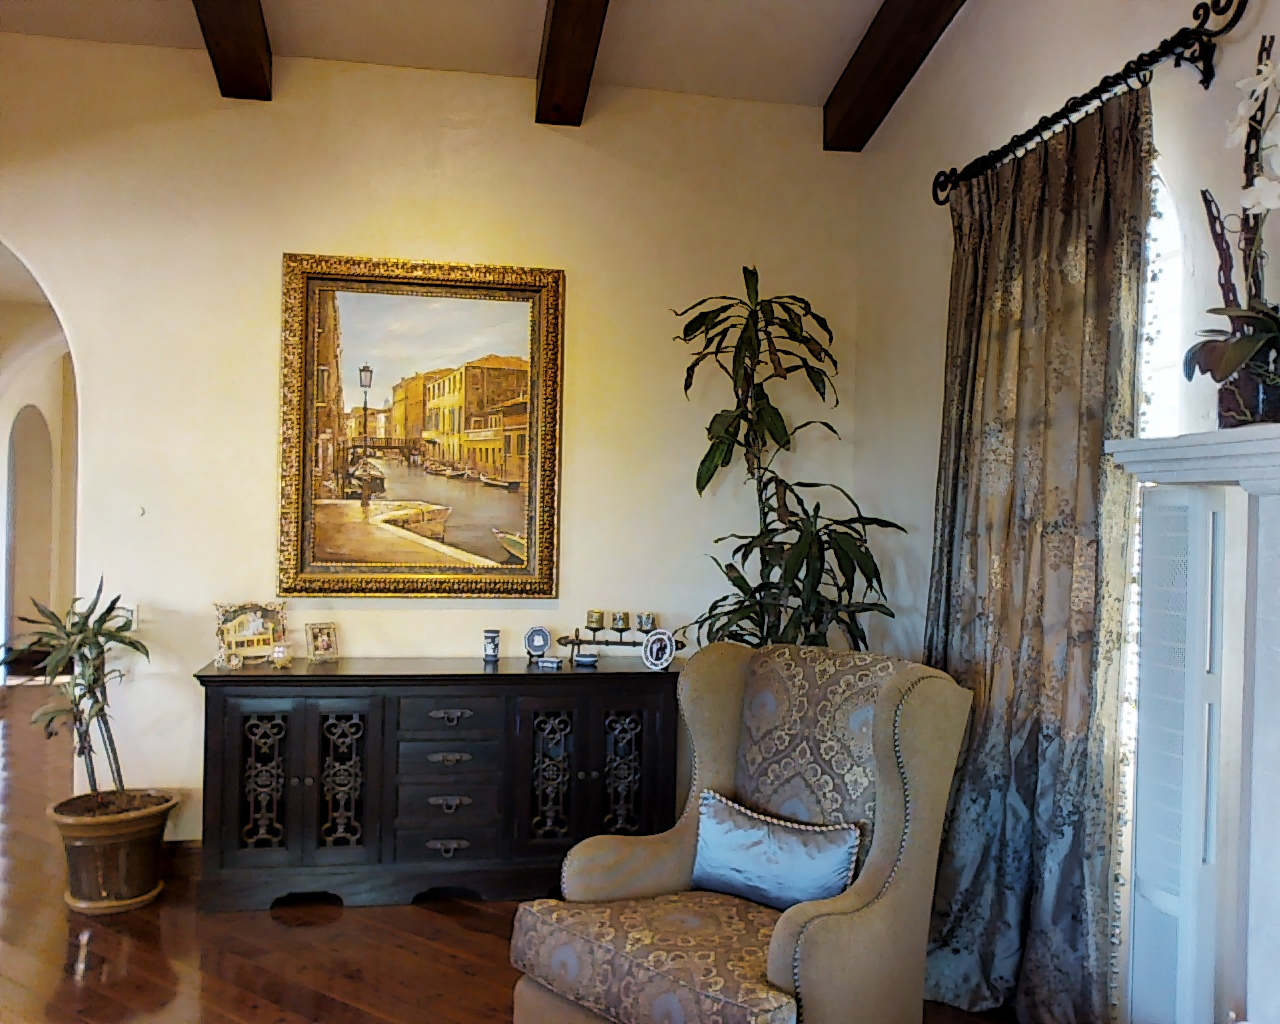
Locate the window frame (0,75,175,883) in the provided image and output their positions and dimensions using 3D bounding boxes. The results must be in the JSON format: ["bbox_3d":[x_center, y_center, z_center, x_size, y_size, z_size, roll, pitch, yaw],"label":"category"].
[{"bbox_3d":[-3.170,-0.140,4.240,2.410,3.210,0.180,1,0,-10],"label":"window frame"}]
